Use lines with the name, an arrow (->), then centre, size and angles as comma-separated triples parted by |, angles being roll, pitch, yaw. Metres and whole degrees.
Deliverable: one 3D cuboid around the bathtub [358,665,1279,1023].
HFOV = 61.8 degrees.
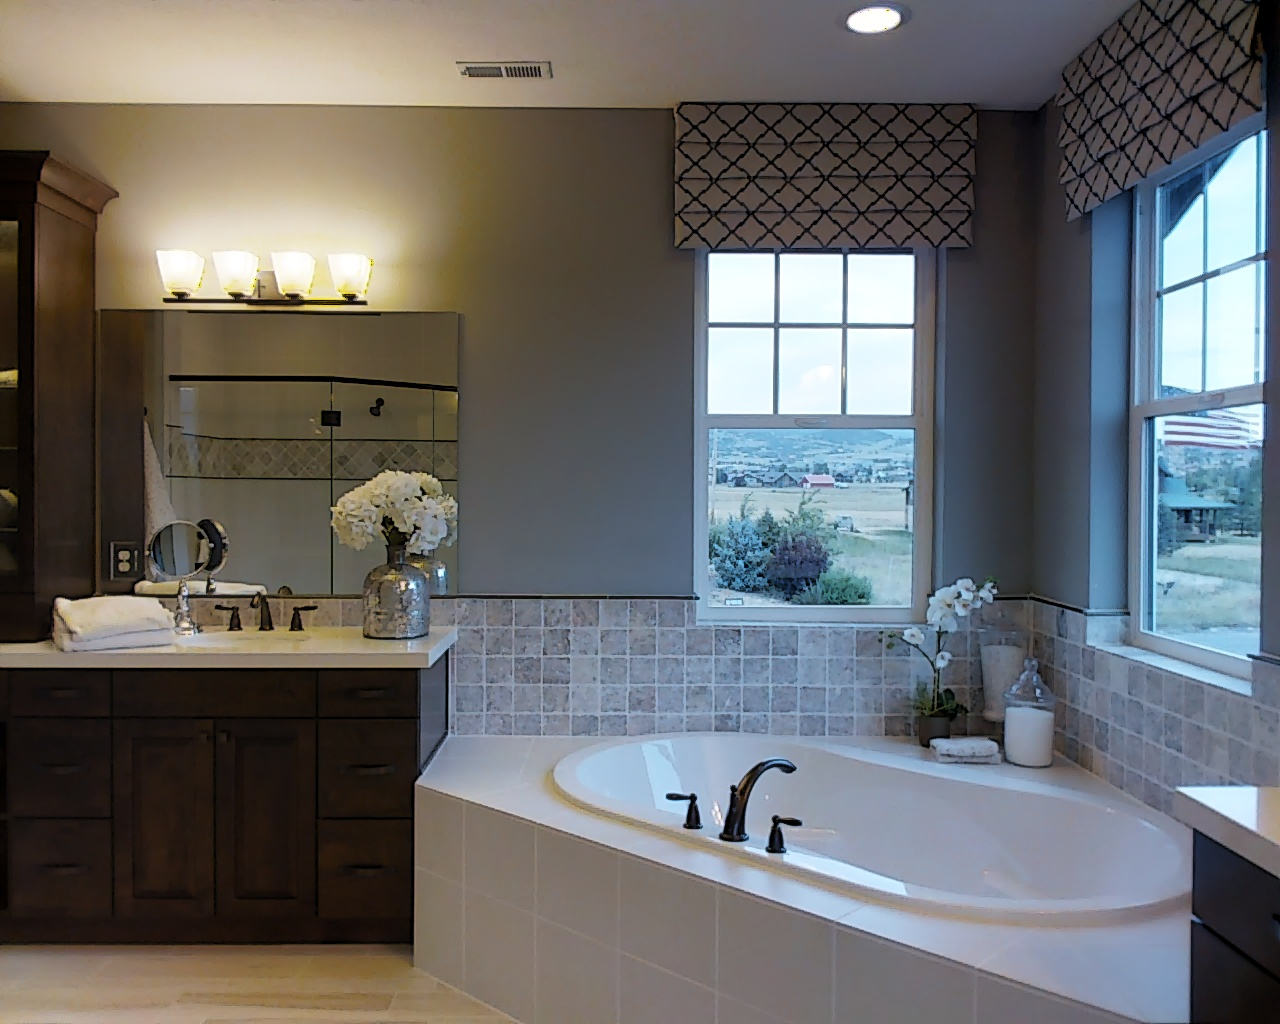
bathtub -> 0.610, 0.990, 2.920 | 2.670, 0.690, 1.520 | 1, 1, 45
